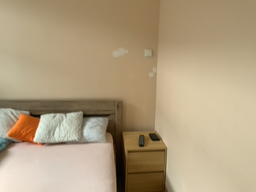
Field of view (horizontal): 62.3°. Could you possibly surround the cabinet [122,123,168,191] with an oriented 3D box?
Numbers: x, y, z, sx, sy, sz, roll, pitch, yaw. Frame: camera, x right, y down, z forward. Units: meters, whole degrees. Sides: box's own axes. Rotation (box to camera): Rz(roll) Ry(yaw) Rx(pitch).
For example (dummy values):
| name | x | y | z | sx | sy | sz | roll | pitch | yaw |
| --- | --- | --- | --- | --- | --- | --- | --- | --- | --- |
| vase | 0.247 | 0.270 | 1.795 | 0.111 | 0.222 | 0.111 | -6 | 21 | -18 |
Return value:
| name | x | y | z | sx | sy | sz | roll | pitch | yaw |
| --- | --- | --- | --- | --- | --- | --- | --- | --- | --- |
| cabinet | 0.150 | 0.640 | 2.320 | 0.420 | 0.510 | 0.540 | 0 | 14 | -4 |
